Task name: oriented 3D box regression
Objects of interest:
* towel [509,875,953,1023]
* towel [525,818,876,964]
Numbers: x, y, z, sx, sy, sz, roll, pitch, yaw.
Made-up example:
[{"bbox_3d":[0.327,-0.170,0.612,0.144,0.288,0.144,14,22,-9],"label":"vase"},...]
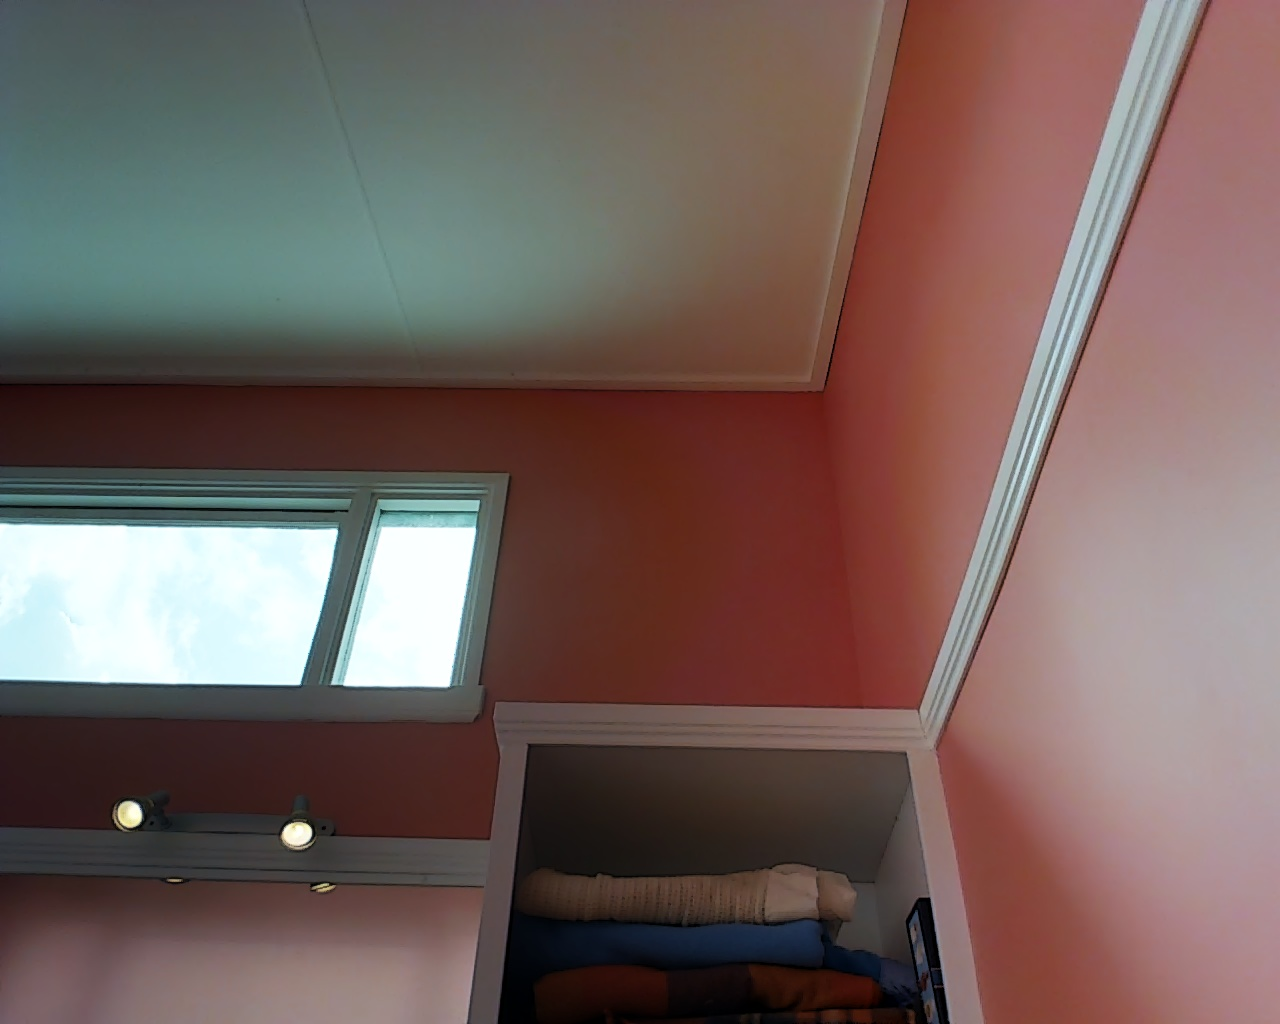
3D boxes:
[{"bbox_3d":[0.130,0.710,1.660,0.620,0.170,0.280,0,-43,2],"label":"towel"},{"bbox_3d":[0.090,0.590,1.670,0.510,0.150,0.170,0,-43,2],"label":"towel"}]
